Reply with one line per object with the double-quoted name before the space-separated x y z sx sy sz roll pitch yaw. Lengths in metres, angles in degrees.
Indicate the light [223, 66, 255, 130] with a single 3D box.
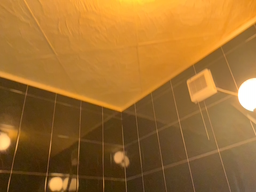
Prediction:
"light" 0.580 0.010 0.940 0.190 0.200 0.180 21 -39 -37
